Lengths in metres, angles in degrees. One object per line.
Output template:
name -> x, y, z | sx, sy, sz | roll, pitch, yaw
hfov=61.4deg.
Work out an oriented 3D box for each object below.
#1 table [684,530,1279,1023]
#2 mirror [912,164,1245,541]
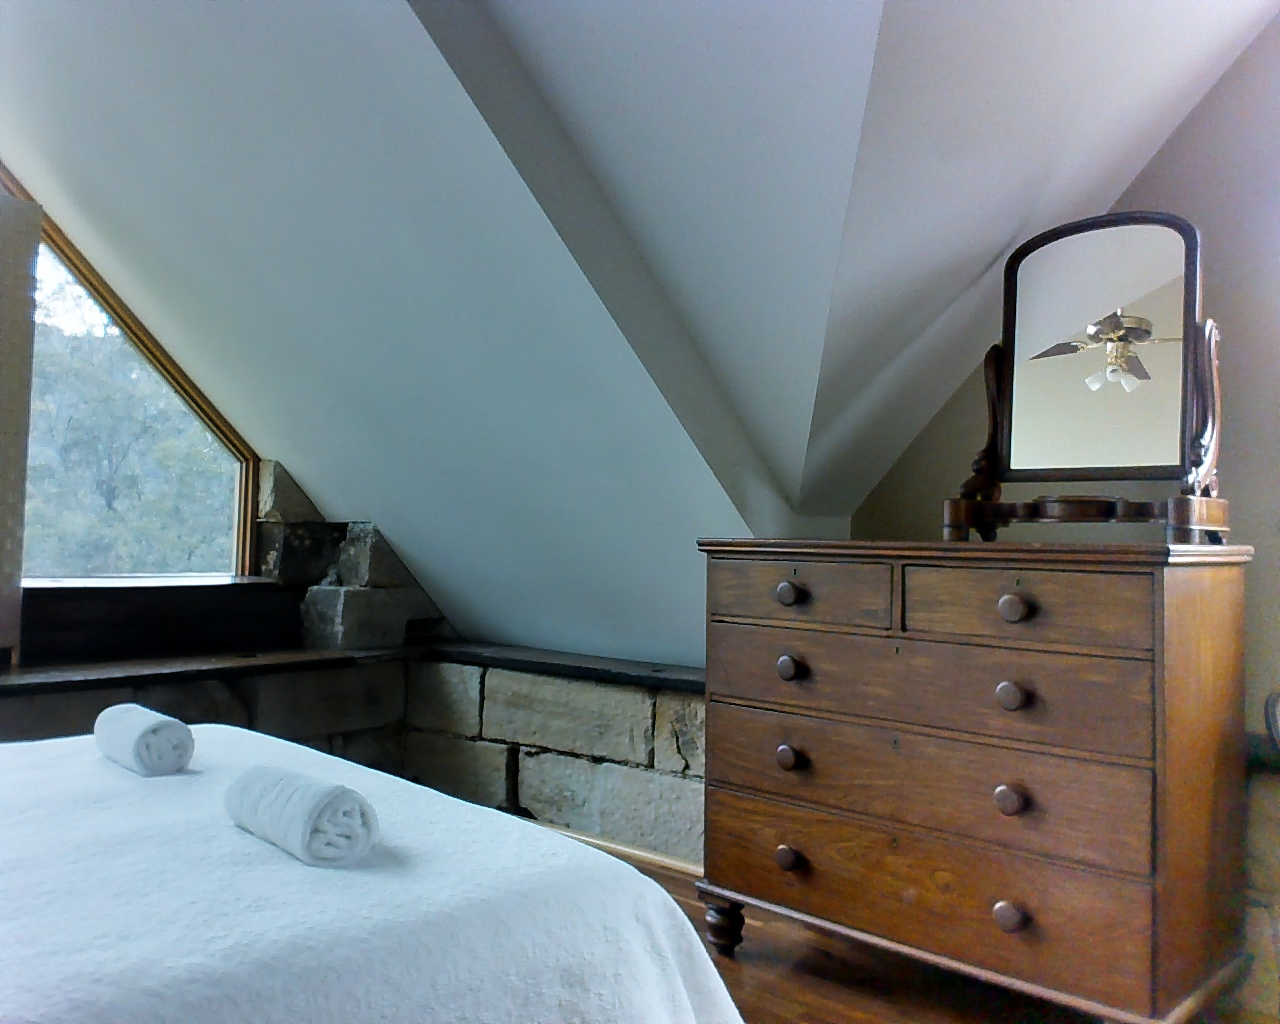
table -> 0.800, 0.630, 2.710 | 0.640, 1.141, 1.270 | 4, -4, -44
mirror -> 1.049, -0.330, 2.630 | 0.330, 0.790, 0.670 | 4, -4, -42
